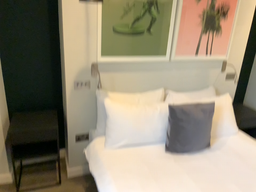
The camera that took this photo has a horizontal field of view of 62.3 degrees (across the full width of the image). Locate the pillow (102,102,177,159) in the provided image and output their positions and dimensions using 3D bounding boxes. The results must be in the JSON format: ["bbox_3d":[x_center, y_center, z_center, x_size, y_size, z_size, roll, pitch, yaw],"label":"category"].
[{"bbox_3d":[0.100,0.280,1.820,0.600,0.400,0.160,-4,4,-13],"label":"pillow"}]

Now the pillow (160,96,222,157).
[{"bbox_3d":[0.510,0.250,1.800,0.370,0.440,0.260,0,21,-9],"label":"pillow"}]

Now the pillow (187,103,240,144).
[{"bbox_3d":[0.830,0.250,2.040,0.520,0.280,0.130,-10,0,-26],"label":"pillow"}]
